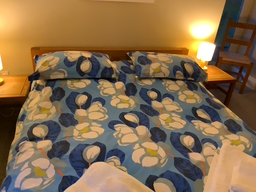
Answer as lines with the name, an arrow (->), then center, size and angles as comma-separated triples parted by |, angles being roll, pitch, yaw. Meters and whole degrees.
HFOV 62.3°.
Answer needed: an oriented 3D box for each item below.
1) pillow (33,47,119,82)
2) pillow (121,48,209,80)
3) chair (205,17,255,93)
pillow -> -0.460, -0.300, 1.880 | 0.670, 0.160, 0.370 | -5, 32, -18
pillow -> 0.350, -0.330, 2.120 | 0.760, 0.160, 0.400 | -3, 32, -16
chair -> 1.500, -0.610, 3.120 | 0.450, 0.930, 0.500 | 14, 31, 12
